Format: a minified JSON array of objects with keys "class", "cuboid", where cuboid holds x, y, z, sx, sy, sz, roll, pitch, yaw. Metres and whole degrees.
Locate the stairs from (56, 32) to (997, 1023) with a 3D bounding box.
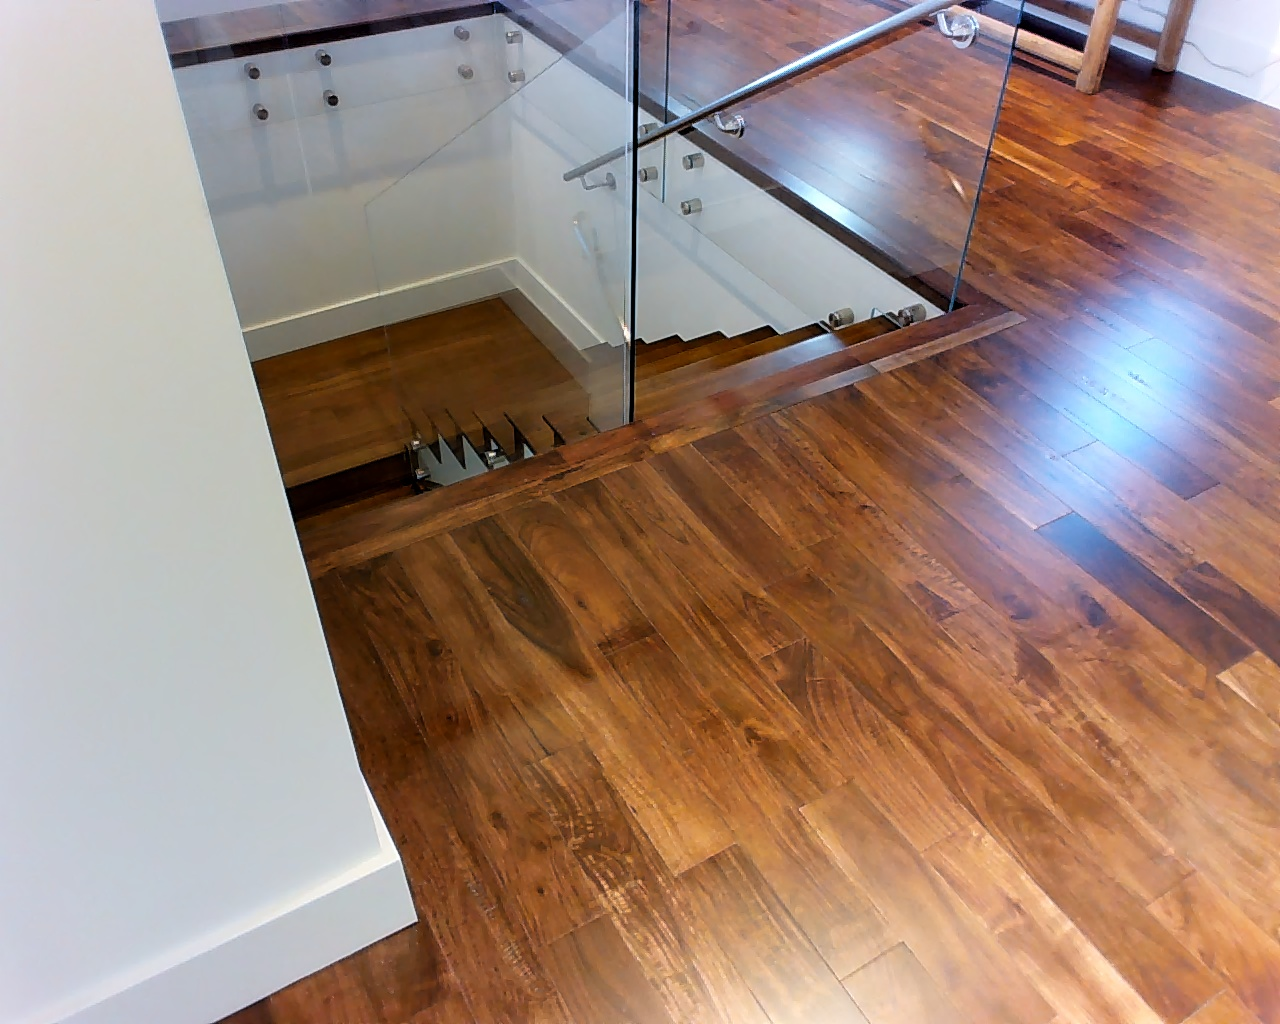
[{"class":"stairs","cuboid":[-0.670,0.120,4.690,2.040,3.050,3.140,-21,46,-22]}]
